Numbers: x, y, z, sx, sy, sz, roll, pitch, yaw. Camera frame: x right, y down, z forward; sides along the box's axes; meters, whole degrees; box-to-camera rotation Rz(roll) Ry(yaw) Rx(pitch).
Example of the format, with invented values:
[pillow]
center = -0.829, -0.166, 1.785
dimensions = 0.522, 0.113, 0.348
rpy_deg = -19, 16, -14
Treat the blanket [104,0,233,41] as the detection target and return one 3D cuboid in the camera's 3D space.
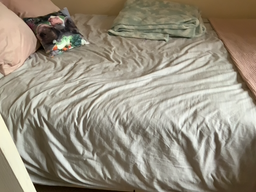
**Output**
[blanket]
center = 0.260, -0.560, 1.520
dimensions = 0.770, 0.130, 0.500
rpy_deg = 3, 36, 4
